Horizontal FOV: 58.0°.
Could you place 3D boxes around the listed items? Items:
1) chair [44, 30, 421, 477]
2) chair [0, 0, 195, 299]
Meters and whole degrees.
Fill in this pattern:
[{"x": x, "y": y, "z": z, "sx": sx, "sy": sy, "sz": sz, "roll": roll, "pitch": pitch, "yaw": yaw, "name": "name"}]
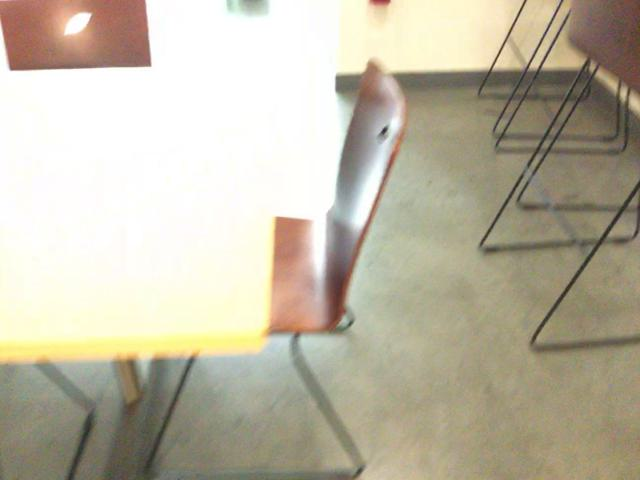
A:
[{"x": -0.120, "y": 0.040, "z": 1.340, "sx": 0.560, "sy": 0.860, "sz": 0.570, "roll": 1, "pitch": 37, "yaw": 2, "name": "chair"}, {"x": -0.680, "y": -0.260, "z": 1.660, "sx": 0.470, "sy": 0.750, "sz": 0.410, "roll": 1, "pitch": 32, "yaw": 2, "name": "chair"}]
